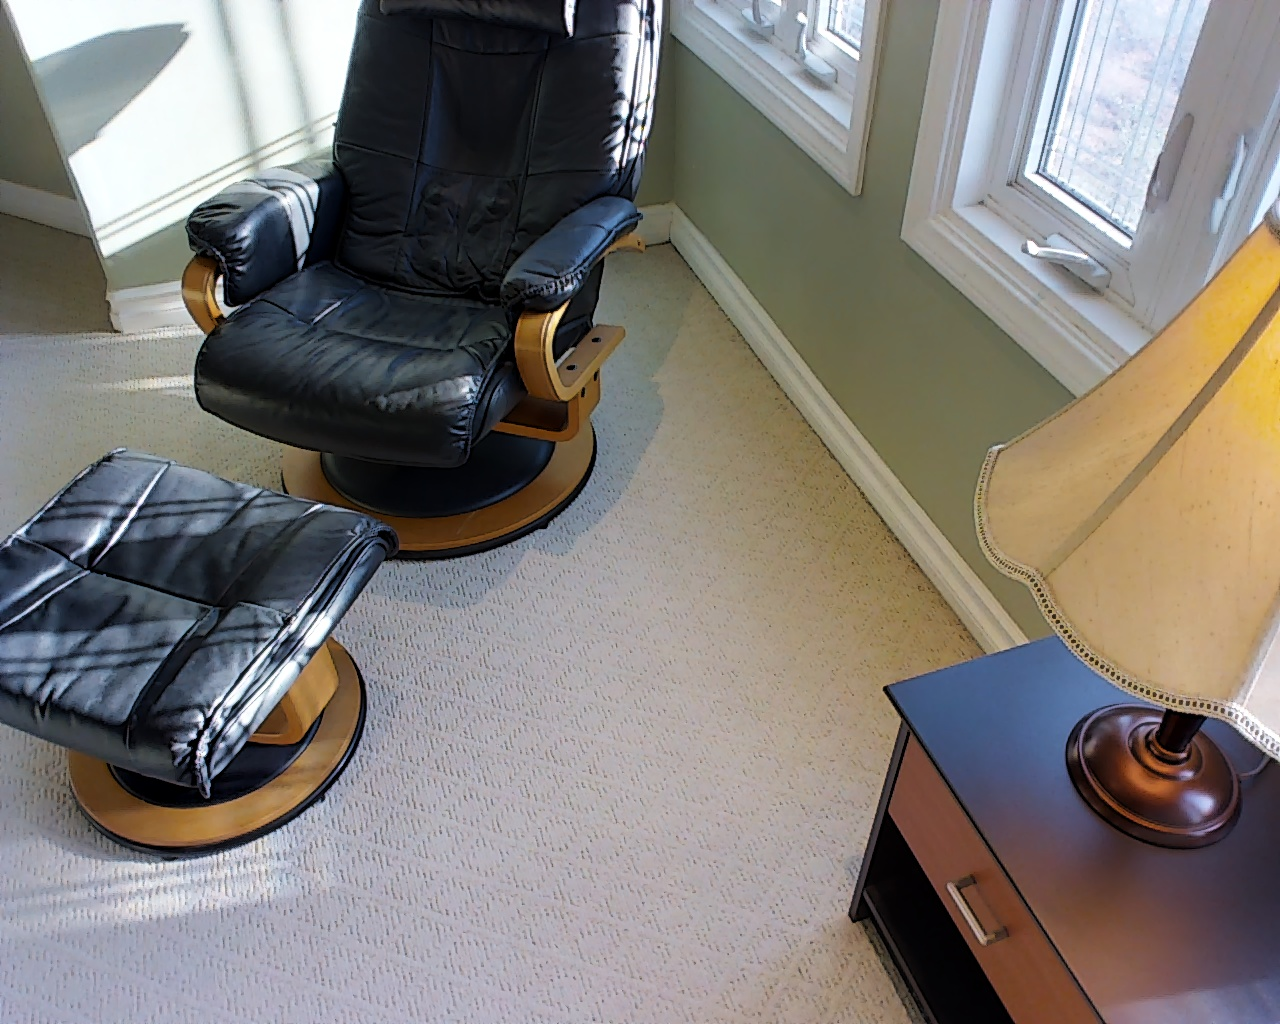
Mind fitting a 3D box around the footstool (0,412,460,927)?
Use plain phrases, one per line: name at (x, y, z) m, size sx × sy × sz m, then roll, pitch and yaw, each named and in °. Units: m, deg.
footstool at (-0.690, 0.210, 1.640) m, size 0.600 × 0.380 × 0.530 m, roll 14°, pitch 44°, yaw 15°
